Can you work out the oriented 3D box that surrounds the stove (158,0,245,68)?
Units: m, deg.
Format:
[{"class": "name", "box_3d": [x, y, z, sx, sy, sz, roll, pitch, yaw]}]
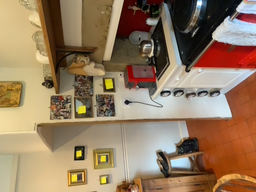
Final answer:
[{"class": "stove", "box_3d": [0.460, -0.730, 1.330, 0.990, 0.120, 0.690, 118, 150, -63]}]
